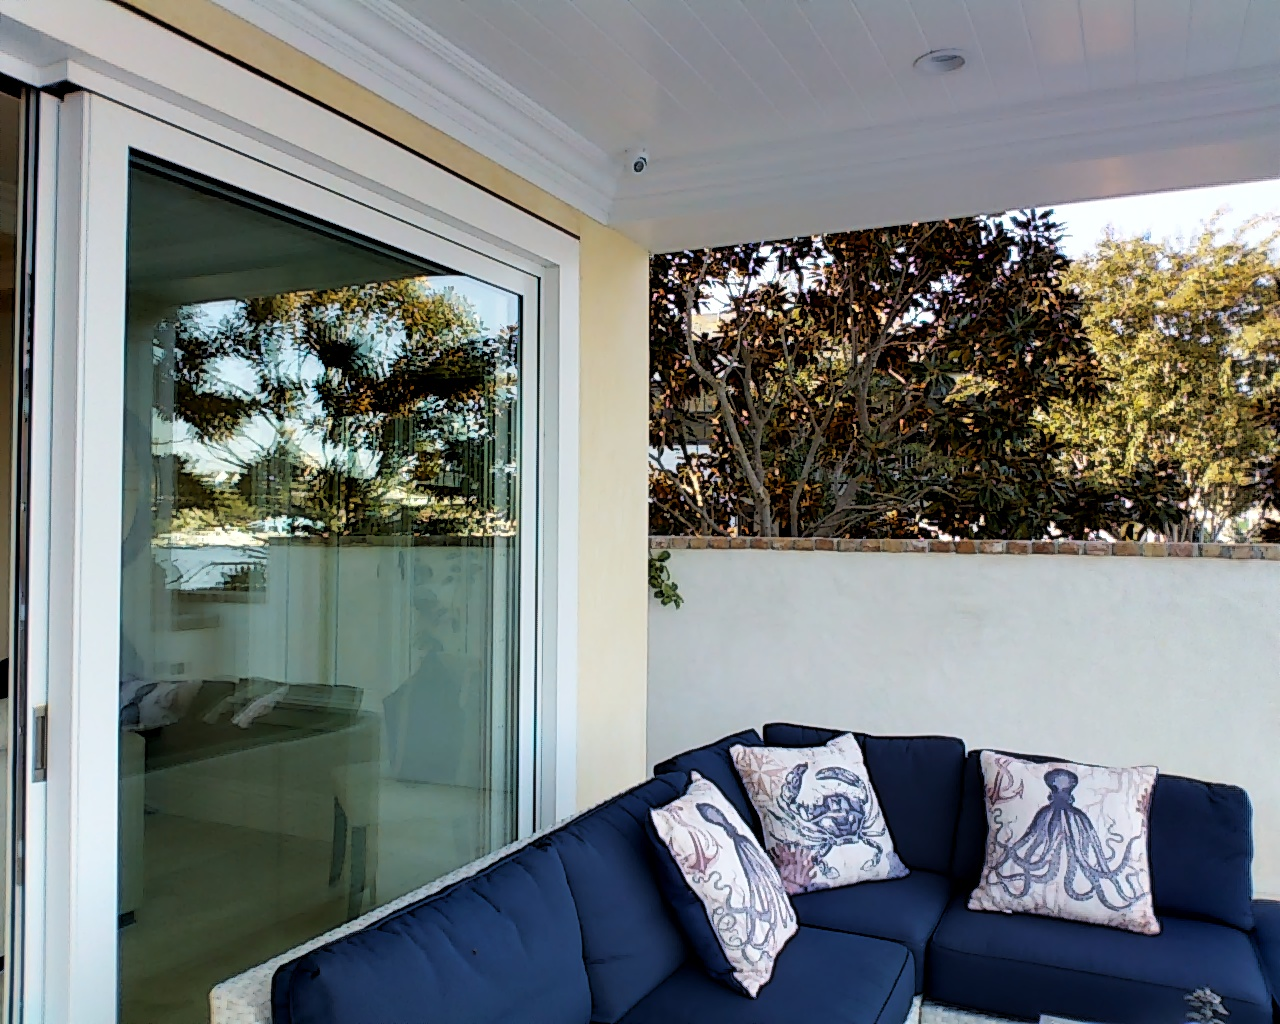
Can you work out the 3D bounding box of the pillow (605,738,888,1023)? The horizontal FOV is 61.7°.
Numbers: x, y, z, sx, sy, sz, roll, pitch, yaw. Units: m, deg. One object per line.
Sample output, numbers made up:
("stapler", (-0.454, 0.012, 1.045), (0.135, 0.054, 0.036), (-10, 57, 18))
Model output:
("pillow", (0.280, 0.890, 2.620), (0.370, 0.460, 0.590), (23, 9, 25))
